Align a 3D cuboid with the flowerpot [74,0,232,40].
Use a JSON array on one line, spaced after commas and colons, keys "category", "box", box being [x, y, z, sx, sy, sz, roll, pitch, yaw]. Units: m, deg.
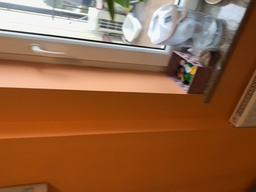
[{"category": "flowerpot", "box": [0.120, -0.510, 0.810, 0.280, 0.560, 0.450, -124, 41, -54]}]
